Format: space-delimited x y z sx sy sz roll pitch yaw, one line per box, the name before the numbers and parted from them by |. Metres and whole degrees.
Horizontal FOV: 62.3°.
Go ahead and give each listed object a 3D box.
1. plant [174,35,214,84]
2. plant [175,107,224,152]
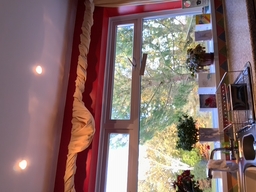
plant | 0.600 -0.330 1.980 0.230 0.320 0.370 44 -134 -72
plant | 0.590 0.290 1.810 0.270 0.360 0.350 47 -136 -71
